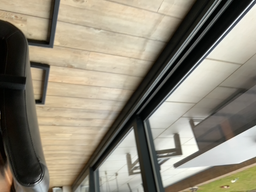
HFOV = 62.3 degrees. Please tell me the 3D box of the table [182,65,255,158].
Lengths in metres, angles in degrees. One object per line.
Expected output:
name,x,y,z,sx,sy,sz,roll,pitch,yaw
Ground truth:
table,1.300,0.130,2.020,0.720,0.450,1.490,6,145,-24
